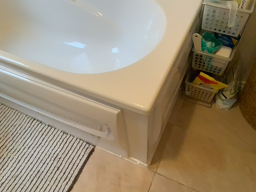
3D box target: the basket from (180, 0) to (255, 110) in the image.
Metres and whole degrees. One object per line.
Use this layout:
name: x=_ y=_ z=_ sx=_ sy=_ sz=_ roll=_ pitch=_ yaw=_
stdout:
basket: x=0.440 y=-0.250 z=1.040 sx=0.200 sy=0.780 sz=0.190 roll=20 pitch=58 yaw=18

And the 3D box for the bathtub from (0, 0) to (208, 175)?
bathtub: x=-0.520 y=-0.300 z=1.280 sx=1.680 sy=0.560 sz=0.710 roll=20 pitch=58 yaw=17
